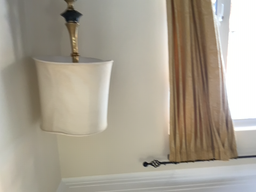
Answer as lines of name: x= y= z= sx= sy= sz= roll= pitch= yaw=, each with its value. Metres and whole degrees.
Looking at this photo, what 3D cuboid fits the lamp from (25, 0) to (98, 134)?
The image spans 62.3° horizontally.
lamp: x=-0.410 y=-0.830 z=1.260 sx=0.310 sy=2.060 sz=0.400 roll=-3 pitch=-169 yaw=-4
